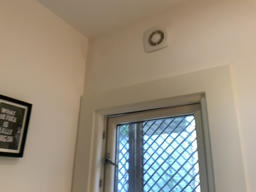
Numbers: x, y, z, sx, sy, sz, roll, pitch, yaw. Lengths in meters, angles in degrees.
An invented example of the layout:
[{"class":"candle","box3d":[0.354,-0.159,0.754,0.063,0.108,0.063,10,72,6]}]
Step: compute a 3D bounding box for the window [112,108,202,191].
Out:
[{"class":"window","box3d":[0.170,0.400,1.450,0.610,0.560,0.070,-11,-22,32]}]
